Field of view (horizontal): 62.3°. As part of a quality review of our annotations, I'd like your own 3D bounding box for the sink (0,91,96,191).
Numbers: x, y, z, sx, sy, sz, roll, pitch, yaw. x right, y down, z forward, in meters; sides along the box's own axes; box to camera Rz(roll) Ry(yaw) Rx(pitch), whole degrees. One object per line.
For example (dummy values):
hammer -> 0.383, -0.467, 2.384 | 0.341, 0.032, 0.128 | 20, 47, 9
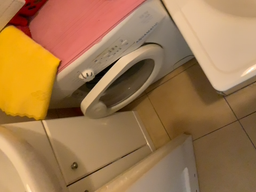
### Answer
sink -> -0.250, 0.250, 0.470 | 0.330, 0.140, 0.410 | -31, 77, 22
